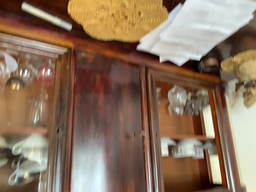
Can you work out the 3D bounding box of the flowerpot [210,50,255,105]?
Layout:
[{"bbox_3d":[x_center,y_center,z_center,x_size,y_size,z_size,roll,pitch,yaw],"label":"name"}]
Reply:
[{"bbox_3d":[0.510,-0.070,0.930,0.220,0.160,0.160,9,161,-30],"label":"flowerpot"}]
